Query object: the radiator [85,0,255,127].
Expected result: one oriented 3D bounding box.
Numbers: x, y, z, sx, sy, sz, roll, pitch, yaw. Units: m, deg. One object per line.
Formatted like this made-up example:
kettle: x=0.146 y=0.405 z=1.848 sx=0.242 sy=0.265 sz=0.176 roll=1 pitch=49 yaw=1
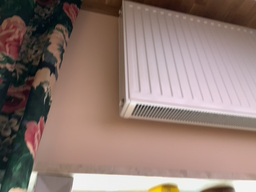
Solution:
radiator: x=0.290 y=-0.260 z=1.080 sx=0.920 sy=0.750 sz=0.190 roll=9 pitch=143 yaw=-14
